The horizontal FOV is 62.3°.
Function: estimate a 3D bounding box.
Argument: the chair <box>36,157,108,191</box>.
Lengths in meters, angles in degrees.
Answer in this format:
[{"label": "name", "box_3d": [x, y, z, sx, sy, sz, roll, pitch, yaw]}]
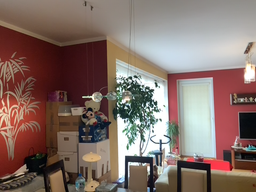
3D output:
[{"label": "chair", "box_3d": [-0.540, 1.190, 2.100, 0.570, 1.020, 0.390, -2, -2, 22]}]
